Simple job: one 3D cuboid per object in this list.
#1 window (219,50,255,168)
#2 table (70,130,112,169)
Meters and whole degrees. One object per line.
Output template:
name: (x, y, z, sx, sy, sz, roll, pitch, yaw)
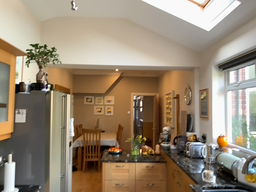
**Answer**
window: (1.560, 0.150, 2.510, 0.220, 1.330, 1.670, 1, -3, -1)
table: (-0.980, 1.480, 6.120, 1.040, 0.780, 1.620, 1, -3, -4)
